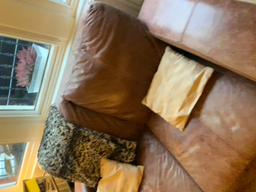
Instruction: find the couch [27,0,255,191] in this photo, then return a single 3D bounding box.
[{"bbox_3d":[0.110,0.240,1.250,1.040,0.780,1.600,46,120,39],"label":"couch"}]
